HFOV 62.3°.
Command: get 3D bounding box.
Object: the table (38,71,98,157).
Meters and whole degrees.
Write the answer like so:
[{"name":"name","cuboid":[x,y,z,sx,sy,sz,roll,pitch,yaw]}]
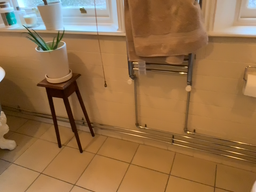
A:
[{"name":"table","cuboid":[-0.440,0.150,1.660,0.230,0.630,0.230,7,33,19]}]
